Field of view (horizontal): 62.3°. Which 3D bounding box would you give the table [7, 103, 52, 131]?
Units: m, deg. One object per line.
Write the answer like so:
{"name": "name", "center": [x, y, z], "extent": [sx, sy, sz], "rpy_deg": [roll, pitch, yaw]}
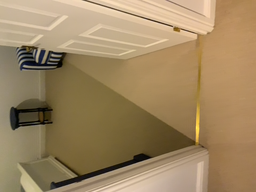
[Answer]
{"name": "table", "center": [-1.750, 0.350, 3.770], "extent": [0.400, 0.640, 0.390], "rpy_deg": [6, 96, 49]}
